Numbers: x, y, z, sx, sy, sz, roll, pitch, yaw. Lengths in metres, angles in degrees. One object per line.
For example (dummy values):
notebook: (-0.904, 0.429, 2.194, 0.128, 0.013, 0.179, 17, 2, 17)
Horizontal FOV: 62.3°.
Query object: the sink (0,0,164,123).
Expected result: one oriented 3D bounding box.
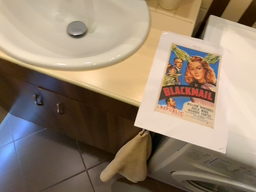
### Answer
sink: (-0.190, -0.210, 0.700, 0.510, 0.220, 0.400, 19, 64, 5)
